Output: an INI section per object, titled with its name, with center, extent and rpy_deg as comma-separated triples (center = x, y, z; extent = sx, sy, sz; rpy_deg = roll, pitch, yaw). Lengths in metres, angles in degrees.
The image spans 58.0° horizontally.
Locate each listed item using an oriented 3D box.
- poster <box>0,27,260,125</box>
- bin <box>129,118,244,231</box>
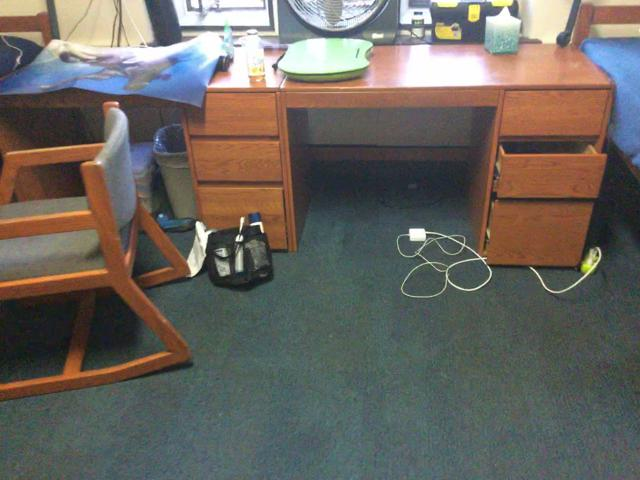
[poster]
center = -0.790, -0.680, 2.350
extent = 0.960, 0.200, 0.660
rpy_deg = 1, 31, 7
[bin]
center = -0.620, -0.330, 2.800
extent = 0.360, 0.380, 0.470
rpy_deg = 1, 31, 7
